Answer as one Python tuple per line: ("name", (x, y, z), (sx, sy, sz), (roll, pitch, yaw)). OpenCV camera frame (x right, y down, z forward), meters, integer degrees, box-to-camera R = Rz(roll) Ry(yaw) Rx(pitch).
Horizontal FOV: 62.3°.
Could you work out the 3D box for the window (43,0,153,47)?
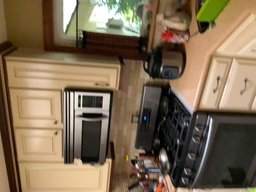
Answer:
("window", (-0.240, -0.940, 1.830), (0.110, 0.930, 0.930), (-109, 24, -67))
